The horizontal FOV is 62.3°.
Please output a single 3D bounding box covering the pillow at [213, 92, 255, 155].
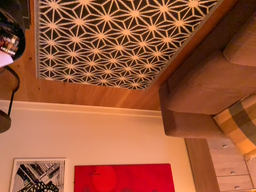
[{"bbox_3d":[1.160,0.260,2.000,0.180,0.490,0.500,-20,170,-30],"label":"pillow"}]
